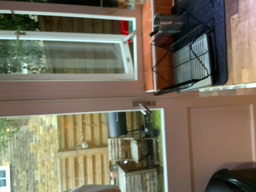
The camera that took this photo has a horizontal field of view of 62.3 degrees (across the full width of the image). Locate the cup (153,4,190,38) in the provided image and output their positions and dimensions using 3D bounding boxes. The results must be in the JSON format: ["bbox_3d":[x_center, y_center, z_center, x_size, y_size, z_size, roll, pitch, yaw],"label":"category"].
[{"bbox_3d":[0.220,-0.380,1.090,0.150,0.130,0.120,-168,77,-73],"label":"cup"}]

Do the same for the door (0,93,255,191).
[{"bbox_3d":[0.140,0.340,1.340,0.030,2.020,0.670,176,92,-73],"label":"door"}]
